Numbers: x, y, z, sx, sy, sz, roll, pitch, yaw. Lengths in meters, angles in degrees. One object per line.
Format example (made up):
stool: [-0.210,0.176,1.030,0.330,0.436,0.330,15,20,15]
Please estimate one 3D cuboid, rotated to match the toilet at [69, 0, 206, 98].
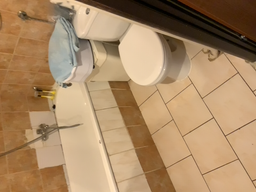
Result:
toilet: [0.060,-0.410,1.580,0.400,0.720,0.740,-44,57,38]
